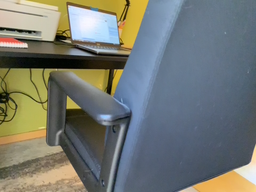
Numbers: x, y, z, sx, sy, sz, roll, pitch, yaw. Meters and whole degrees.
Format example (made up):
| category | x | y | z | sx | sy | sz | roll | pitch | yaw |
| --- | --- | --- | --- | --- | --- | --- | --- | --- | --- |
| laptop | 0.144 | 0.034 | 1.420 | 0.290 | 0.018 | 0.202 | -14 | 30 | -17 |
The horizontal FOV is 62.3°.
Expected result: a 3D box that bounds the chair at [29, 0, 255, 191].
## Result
| category | x | y | z | sx | sy | sz | roll | pitch | yaw |
| --- | --- | --- | --- | --- | --- | --- | --- | --- | --- |
| chair | 0.090 | 0.060 | 0.720 | 0.670 | 1.200 | 0.660 | -1 | 20 | -33 |
